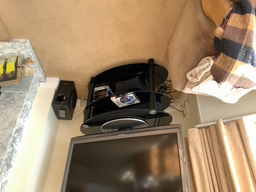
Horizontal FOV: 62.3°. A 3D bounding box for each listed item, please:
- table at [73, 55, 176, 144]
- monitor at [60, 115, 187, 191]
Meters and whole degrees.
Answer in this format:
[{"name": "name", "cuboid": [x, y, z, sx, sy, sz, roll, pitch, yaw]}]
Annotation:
[{"name": "table", "cuboid": [-0.020, 0.070, 1.910, 0.730, 0.490, 0.450, -16, 143, 25]}, {"name": "monitor", "cuboid": [-0.060, 0.480, 1.530, 0.900, 0.620, 0.040, -9, 147, 18]}]
